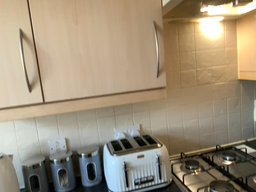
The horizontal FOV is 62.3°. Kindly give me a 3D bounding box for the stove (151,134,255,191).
[{"bbox_3d":[0.500,0.350,1.060,0.610,0.040,0.560,-8,9,-14],"label":"stove"}]
